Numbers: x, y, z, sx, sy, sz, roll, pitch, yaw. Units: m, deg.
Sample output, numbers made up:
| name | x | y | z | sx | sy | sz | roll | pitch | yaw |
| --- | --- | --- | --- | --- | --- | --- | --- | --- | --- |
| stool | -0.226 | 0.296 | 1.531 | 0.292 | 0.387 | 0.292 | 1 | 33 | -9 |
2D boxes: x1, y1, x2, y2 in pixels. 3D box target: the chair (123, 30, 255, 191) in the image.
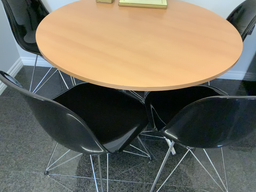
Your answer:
| name | x | y | z | sx | sy | sz | roll | pitch | yaw |
| --- | --- | --- | --- | --- | --- | --- | --- | --- | --- |
| chair | 0.260 | 0.140 | 1.070 | 0.530 | 0.760 | 0.500 | -2 | 43 | -5 |

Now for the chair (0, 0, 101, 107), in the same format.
| name | x | y | z | sx | sy | sz | roll | pitch | yaw |
| --- | --- | --- | --- | --- | --- | --- | --- | --- | --- |
| chair | -0.540 | -0.390 | 1.620 | 0.510 | 0.750 | 0.480 | 9 | 43 | 7 |
